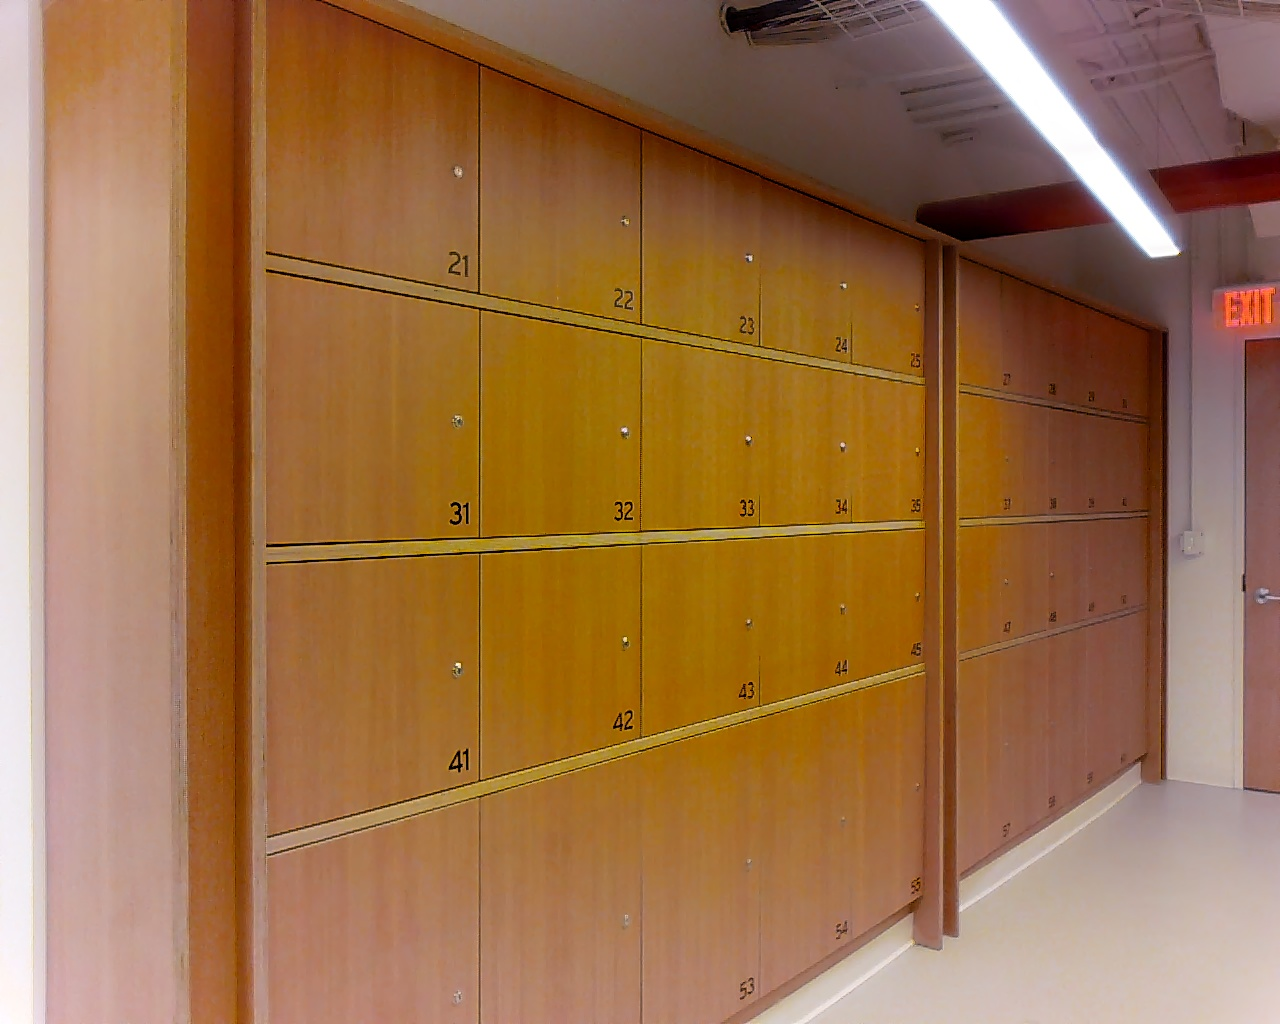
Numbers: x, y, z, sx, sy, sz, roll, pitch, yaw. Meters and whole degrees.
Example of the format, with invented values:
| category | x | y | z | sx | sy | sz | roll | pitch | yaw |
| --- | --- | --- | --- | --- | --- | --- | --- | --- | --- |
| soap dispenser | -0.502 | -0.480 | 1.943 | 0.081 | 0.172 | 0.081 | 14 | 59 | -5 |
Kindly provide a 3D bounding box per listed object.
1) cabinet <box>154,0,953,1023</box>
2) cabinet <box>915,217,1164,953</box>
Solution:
| category | x | y | z | sx | sy | sz | roll | pitch | yaw |
| --- | --- | --- | --- | --- | --- | --- | --- | --- | --- |
| cabinet | 0.160 | 0.250 | 2.530 | 0.160 | 2.371 | 2.600 | 1 | 1 | 38 |
| cabinet | 1.780 | 0.230 | 4.490 | 0.140 | 2.381 | 2.550 | 1 | 1 | 40 |
